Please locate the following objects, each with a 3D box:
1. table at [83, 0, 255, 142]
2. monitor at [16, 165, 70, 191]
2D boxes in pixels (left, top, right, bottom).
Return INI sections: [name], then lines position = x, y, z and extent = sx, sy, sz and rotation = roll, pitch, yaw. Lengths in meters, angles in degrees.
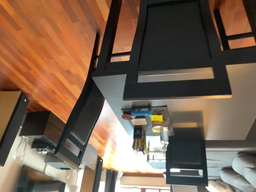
[table]
position = 0.380, -0.200, 1.590
extent = 0.940, 0.740, 0.960
rotation = -6, 146, 18
[monitor]
position = -1.410, 1.720, 3.610
extent = 0.090, 0.710, 1.370
rotation = -3, 147, 14
